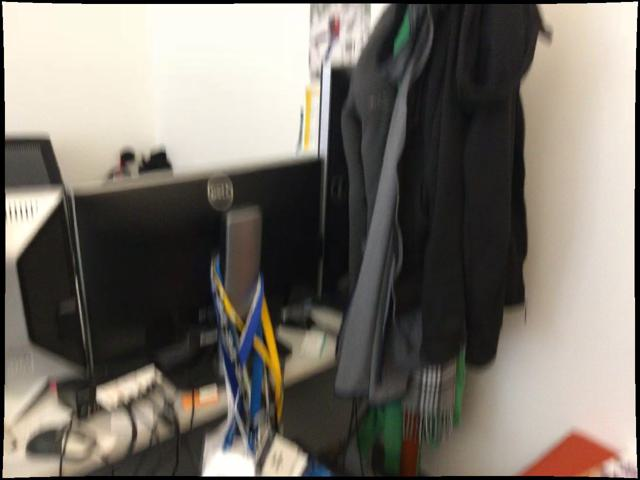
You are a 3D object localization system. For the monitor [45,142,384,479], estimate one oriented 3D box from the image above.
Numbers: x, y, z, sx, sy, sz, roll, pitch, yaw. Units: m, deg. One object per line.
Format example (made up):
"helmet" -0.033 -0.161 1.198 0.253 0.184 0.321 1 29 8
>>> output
"monitor" -0.190 0.110 1.190 0.580 0.520 0.250 -13 27 -34

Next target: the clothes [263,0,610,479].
"clothes" 0.180 0.090 1.360 0.400 1.631 0.530 -13 27 -34
